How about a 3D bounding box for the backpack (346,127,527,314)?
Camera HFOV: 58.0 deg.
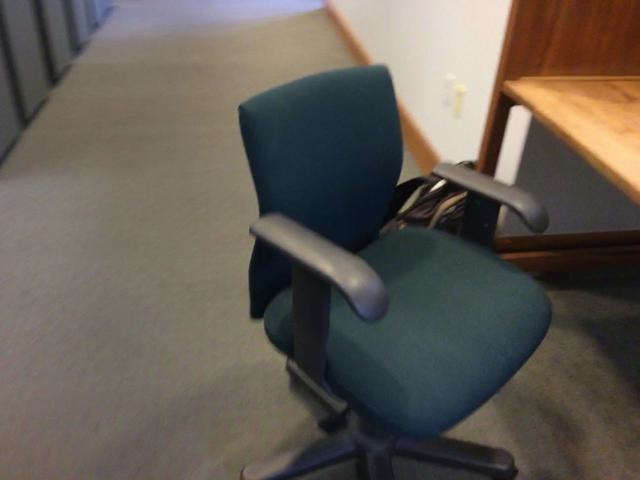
[{"bbox_3d":[0.440,-0.090,2.110,0.360,0.430,0.470,17,51,45],"label":"backpack"}]
